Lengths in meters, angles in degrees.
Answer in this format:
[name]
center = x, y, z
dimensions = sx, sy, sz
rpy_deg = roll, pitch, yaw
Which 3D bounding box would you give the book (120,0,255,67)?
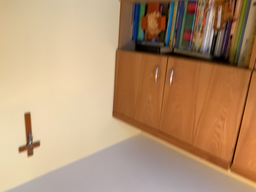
[book]
center = 0.380, -0.410, 1.340
dimensions = 0.890, 0.300, 0.310
rpy_deg = 18, -158, 41
